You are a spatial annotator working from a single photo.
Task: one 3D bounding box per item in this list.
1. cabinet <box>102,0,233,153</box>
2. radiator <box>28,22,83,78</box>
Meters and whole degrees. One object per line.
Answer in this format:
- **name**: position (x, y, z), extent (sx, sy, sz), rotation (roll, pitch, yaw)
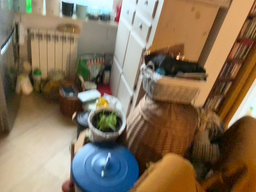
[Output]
- **cabinet**: position (0.170, -0.330, 2.050), extent (0.480, 1.390, 1.020), rotation (1, 35, -19)
- **radiator**: position (-0.820, -0.500, 2.420), extent (0.540, 0.570, 0.170), rotation (0, 35, -21)
